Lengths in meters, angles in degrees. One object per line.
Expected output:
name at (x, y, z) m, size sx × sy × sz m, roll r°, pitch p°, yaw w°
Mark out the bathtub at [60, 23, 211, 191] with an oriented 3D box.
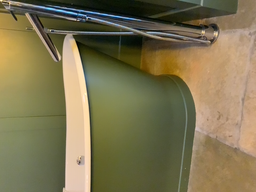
bathtub at (-0.070, 0.490, 1.390) m, size 0.700 × 0.640 × 1.690 m, roll -156°, pitch 67°, yaw -64°
